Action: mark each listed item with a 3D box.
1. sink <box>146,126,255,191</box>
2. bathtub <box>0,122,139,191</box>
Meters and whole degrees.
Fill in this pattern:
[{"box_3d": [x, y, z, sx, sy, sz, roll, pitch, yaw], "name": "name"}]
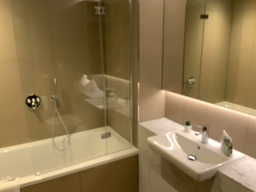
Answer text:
[{"box_3d": [0.500, 0.420, 1.560, 0.480, 0.110, 0.580, -9, 17, -30], "name": "sink"}, {"box_3d": [-0.800, 0.830, 2.100, 1.650, 0.620, 0.780, -9, 16, -29], "name": "bathtub"}]
